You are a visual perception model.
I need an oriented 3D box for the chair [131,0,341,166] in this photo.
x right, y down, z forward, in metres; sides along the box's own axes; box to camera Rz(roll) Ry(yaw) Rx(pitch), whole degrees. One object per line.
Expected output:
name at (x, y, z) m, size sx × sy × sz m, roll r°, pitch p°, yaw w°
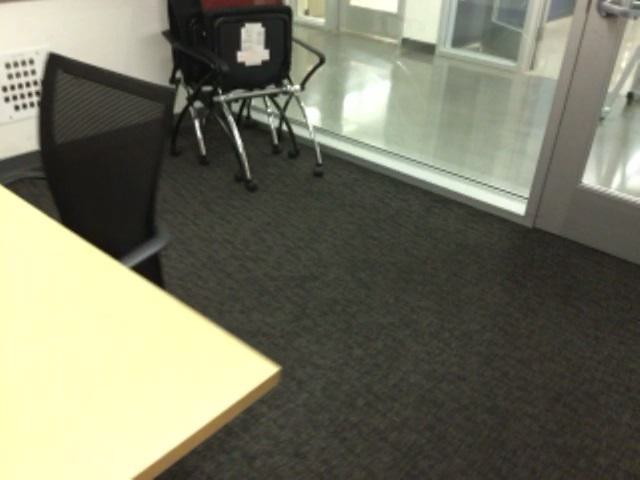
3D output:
chair at (-0.450, -1.000, 3.090) m, size 0.730 × 0.840 × 0.820 m, roll -23°, pitch 39°, yaw -36°

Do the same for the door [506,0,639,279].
door at (1.190, -0.400, 2.130) m, size 0.780 × 1.050 × 0.190 m, roll 27°, pitch 38°, yaw 36°
